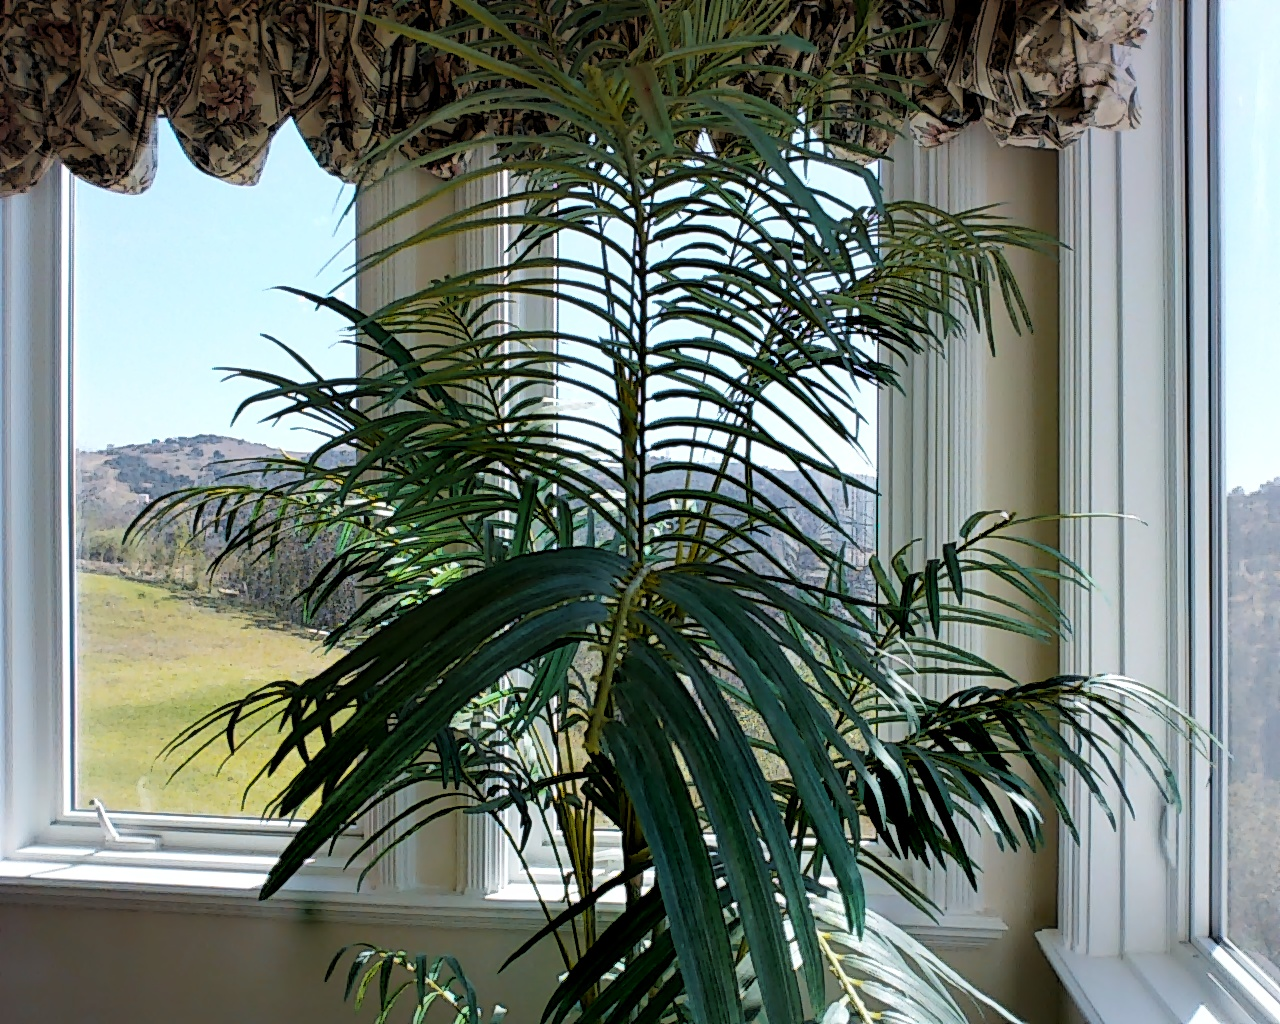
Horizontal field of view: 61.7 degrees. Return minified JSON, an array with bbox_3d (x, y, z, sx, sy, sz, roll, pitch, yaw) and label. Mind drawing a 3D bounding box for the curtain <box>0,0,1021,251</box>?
[{"bbox_3d":[-1.610,-0.920,2.300,4.621,0.650,0.310,0,0,7],"label":"curtain"}]
